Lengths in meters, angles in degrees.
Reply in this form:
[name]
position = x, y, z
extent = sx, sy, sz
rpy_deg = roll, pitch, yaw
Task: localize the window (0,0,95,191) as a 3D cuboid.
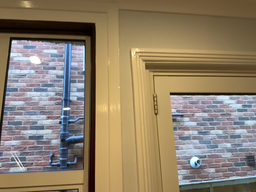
[window]
position = -0.610, 0.290, 0.920
extent = 0.920, 1.700, 0.070
rpy_deg = 0, -15, -7
